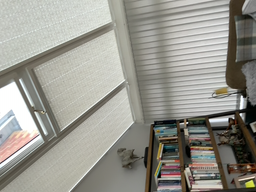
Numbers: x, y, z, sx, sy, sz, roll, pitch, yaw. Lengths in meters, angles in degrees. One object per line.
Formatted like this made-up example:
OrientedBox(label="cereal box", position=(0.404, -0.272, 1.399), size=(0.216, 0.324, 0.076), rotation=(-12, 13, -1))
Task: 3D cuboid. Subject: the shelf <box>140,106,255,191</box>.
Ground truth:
OrientedBox(label="shelf", position=(0.980, 0.690, 2.580), size=(1.300, 1.520, 0.350), rotation=(-75, -23, -58))
